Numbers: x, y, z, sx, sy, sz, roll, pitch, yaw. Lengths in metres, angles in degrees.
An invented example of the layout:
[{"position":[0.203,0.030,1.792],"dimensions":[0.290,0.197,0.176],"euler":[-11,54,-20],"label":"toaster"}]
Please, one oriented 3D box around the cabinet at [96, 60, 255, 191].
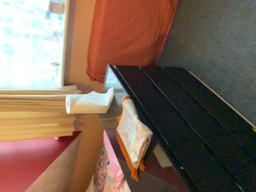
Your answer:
[{"position":[0.420,0.410,1.320],"dimensions":[1.590,0.770,0.530],"euler":[58,141,45],"label":"cabinet"}]
